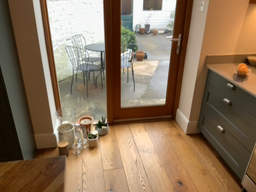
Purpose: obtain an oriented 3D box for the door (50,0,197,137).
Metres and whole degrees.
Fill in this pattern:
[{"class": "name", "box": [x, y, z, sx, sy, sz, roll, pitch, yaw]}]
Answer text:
[{"class": "door", "box": [-0.030, -0.520, 2.380, 1.490, 2.210, 0.080, -3, 27, -9]}]
